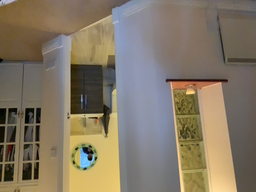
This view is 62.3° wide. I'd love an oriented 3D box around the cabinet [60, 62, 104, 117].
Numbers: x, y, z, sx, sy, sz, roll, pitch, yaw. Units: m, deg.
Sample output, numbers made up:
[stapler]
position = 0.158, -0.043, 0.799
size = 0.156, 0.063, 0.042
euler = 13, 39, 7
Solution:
[cabinet]
position = -0.750, -0.100, 3.580
size = 0.660, 0.820, 0.470
euler = -1, 168, -7
